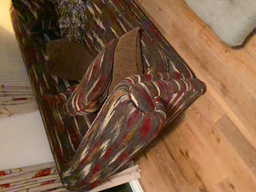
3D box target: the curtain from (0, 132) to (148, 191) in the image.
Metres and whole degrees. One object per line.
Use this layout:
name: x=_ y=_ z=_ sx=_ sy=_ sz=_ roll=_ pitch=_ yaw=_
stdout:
curtain: x=-0.860 y=0.720 z=1.470 sx=0.420 sy=2.260 sz=0.260 roll=60 pitch=138 yaw=27

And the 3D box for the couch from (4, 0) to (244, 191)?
couch: x=-0.470 y=-0.550 z=1.970 sx=2.580 sy=0.780 sz=1.180 roll=59 pitch=137 yaw=29
